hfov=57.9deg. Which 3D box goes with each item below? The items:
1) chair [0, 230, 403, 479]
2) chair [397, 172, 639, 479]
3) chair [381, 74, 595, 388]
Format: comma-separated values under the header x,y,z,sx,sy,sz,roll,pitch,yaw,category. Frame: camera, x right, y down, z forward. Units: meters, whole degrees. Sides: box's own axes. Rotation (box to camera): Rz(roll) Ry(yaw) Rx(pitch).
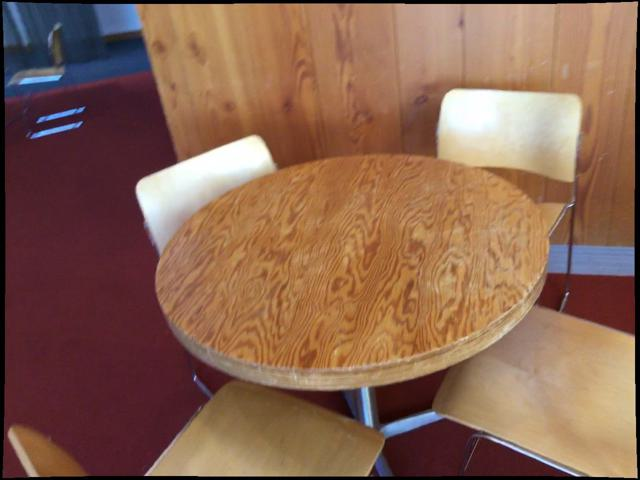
x,y,z,sx,sy,sz,roll,pitch,yaw,category
-0.160,0.460,1.180,0.510,0.650,0.690,7,33,17,chair
0.519,0.300,1.280,0.530,0.660,0.550,12,35,24,chair
0.559,-0.070,1.960,0.490,0.771,0.650,13,35,24,chair
